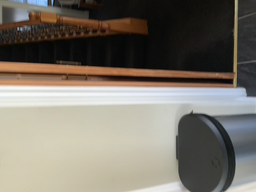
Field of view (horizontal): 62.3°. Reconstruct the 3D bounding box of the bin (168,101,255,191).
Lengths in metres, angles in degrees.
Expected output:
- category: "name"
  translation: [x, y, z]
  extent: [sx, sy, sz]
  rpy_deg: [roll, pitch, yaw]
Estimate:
- category: "bin"
  translation: [0.560, 0.210, 0.980]
  extent: [0.260, 0.710, 0.360]
  rpy_deg: [180, 89, -66]
